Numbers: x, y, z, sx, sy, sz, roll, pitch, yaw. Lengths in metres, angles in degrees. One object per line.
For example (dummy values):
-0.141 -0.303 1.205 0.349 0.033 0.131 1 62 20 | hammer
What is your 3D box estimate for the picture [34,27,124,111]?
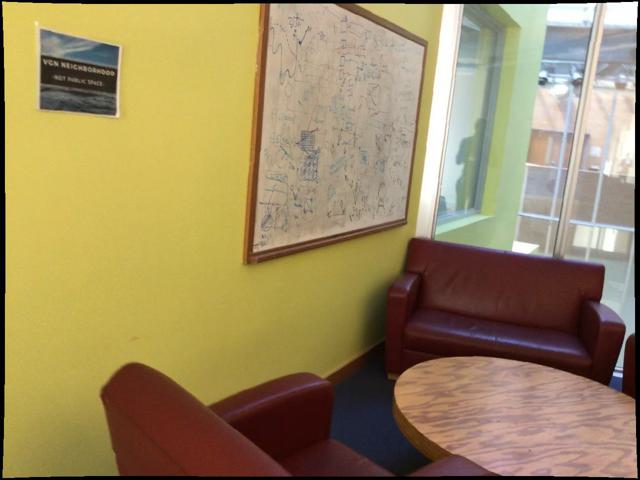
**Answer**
-0.669 -0.480 1.630 0.020 0.210 0.270 21 25 27 | picture
